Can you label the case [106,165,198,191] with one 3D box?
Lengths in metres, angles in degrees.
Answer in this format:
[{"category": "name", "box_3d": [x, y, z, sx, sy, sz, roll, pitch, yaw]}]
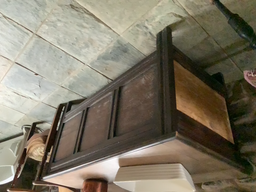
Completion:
[{"category": "case", "box_3d": [0.120, 0.390, 0.960, 0.330, 0.050, 0.300, -11, 143, 22]}]
